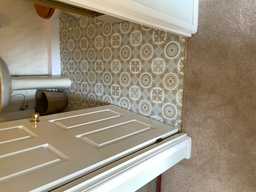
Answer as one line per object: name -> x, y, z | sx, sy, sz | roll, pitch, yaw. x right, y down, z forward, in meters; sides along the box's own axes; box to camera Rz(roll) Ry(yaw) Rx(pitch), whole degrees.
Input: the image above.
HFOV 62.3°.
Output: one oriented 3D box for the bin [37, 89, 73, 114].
bin -> -0.920, 0.060, 2.670 | 0.230, 0.350, 0.240 | 18, 105, 38
